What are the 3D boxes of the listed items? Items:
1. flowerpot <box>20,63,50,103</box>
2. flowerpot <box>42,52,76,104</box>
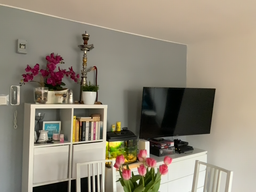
[{"bbox_3d":[-0.950,-0.120,2.160,0.230,0.380,0.240,2,0,-33],"label":"flowerpot"},{"bbox_3d":[-0.750,-0.180,2.300,0.280,0.520,0.240,2,0,-34],"label":"flowerpot"}]
